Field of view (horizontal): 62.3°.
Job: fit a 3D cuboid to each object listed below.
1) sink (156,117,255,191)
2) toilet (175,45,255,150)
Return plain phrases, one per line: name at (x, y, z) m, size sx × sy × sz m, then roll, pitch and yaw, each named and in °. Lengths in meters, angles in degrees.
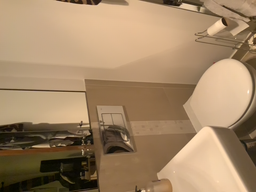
sink at (0.360, 0.470, 0.800) m, size 0.480 × 0.150 × 0.610 m, roll 114°, pitch 148°, yaw -44°
toilet at (0.650, 0.030, 1.320) m, size 0.520 × 0.400 × 0.370 m, roll 114°, pitch 148°, yaw -44°
